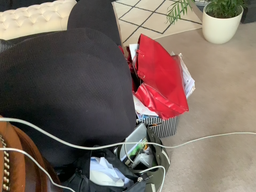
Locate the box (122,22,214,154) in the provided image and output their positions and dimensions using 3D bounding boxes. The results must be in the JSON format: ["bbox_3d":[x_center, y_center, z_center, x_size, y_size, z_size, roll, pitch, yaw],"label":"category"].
[{"bbox_3d":[0.200,-0.040,1.290,0.320,0.540,0.530,-12,50,-1],"label":"box"}]

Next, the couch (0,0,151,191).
[{"bbox_3d":[-0.950,-0.030,1.240,1.910,0.890,1.110,-12,50,-2],"label":"couch"}]
